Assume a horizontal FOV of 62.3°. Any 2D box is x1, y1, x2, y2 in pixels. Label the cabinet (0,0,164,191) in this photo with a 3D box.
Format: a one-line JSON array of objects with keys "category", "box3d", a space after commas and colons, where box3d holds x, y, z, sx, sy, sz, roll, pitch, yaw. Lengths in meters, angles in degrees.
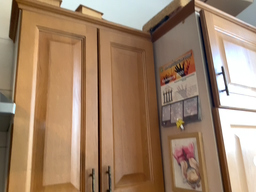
[{"category": "cabinet", "box3d": [-0.210, 0.060, 0.950, 0.600, 0.780, 0.350, 7, -17, -31]}]
